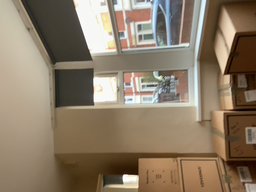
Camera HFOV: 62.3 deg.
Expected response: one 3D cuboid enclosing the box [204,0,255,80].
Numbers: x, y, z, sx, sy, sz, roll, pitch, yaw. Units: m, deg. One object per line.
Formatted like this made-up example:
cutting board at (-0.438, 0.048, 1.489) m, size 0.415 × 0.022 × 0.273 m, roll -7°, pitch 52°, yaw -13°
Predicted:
box at (1.080, -0.510, 1.930) m, size 0.530 × 0.590 × 0.470 m, roll 80°, pitch -169°, yaw -50°
